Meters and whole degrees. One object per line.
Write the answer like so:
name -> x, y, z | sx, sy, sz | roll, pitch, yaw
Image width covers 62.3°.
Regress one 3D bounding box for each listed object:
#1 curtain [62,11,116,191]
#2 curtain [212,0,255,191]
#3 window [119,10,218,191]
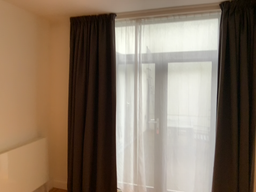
curtain -> -0.520, 0.160, 2.920 | 0.660, 2.460, 0.280 | 1, 4, 17
curtain -> 1.160, 0.210, 2.310 | 0.390, 2.430, 0.140 | 1, 4, 17
window -> 0.470, 0.220, 2.760 | 1.200, 2.440, 0.130 | 2, 4, 19
